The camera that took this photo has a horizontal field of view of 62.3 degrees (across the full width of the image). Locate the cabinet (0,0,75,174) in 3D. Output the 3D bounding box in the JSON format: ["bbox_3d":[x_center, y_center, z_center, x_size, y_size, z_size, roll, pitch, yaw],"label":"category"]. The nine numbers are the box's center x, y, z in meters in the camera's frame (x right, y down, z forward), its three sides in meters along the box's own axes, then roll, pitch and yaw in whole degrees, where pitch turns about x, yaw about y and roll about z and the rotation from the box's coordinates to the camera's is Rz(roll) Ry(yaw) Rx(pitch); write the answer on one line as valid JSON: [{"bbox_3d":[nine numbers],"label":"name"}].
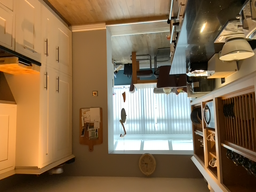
[{"bbox_3d":[-1.230,-0.160,2.960,0.610,2.150,0.950,-2,176,9],"label":"cabinet"}]
